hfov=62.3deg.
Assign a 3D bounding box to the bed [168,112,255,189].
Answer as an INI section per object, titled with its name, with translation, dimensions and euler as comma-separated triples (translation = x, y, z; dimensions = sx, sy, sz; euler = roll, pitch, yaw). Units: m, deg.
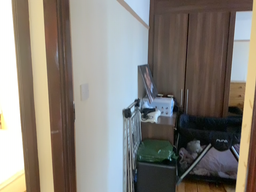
[bed]
translation = 1.130, 0.690, 2.960
dimensions = 1.050, 0.690, 0.770
euler = 3, 10, 14
